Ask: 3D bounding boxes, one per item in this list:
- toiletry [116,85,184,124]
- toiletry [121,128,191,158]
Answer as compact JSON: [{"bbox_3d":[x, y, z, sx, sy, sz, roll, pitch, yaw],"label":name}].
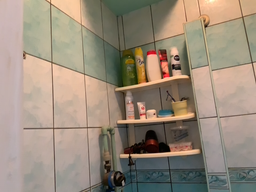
[{"bbox_3d":[0.120,0.060,1.210,0.350,0.170,0.120,-9,-11,23],"label":"toiletry"},{"bbox_3d":[0.150,0.260,1.170,0.350,0.130,0.140,-10,-11,27],"label":"toiletry"}]
